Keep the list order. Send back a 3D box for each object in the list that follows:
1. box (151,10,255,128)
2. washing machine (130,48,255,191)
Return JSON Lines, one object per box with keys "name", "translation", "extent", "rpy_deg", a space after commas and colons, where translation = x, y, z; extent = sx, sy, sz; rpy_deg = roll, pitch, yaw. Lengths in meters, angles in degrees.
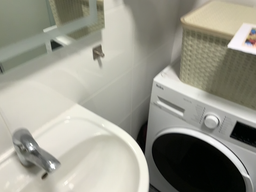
{"name": "box", "translation": [0.460, -0.130, 0.880], "extent": [0.580, 0.230, 0.400], "rpy_deg": [25, 45, 26]}
{"name": "washing machine", "translation": [0.420, 0.290, 1.220], "extent": [0.610, 0.850, 0.500], "rpy_deg": [26, 45, 26]}
